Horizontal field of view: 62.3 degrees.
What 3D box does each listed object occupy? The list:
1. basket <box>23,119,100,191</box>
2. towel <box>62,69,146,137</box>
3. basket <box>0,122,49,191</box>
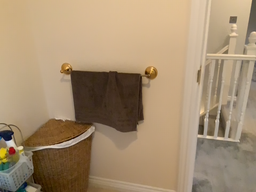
[{"bbox_3d":[-0.450,0.520,1.560,0.350,0.580,0.320,4,24,13],"label":"basket"},{"bbox_3d":[-0.140,0.040,1.370,0.500,0.390,0.120,4,24,13],"label":"towel"},{"bbox_3d":[-0.620,0.550,1.240,0.190,0.780,0.200,5,24,14],"label":"basket"}]
